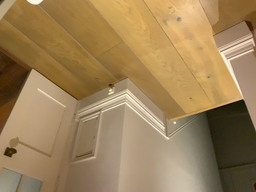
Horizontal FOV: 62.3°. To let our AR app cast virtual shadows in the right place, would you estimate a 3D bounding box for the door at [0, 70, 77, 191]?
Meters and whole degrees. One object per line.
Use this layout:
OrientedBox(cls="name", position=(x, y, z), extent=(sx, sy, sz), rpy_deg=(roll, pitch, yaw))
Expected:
OrientedBox(cls="door", position=(-0.740, 0.690, 1.450), extent=(0.030, 1.980, 0.540), rpy_deg=(-22, 135, 27))
